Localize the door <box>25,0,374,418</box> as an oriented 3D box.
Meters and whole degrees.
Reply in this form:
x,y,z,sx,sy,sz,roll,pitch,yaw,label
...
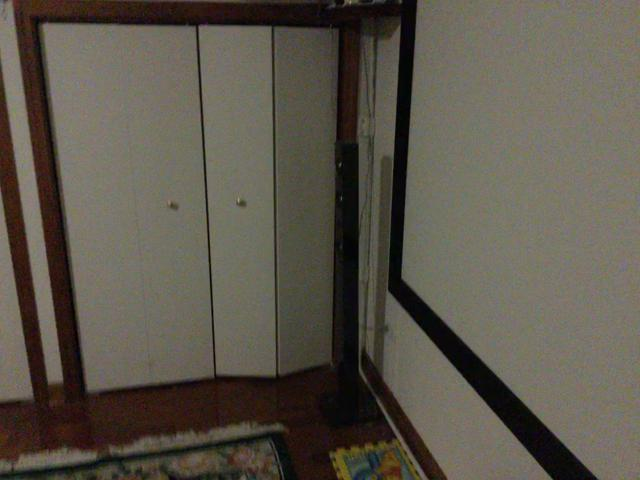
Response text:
x,y,z,sx,sy,sz,roll,pitch,yaw,label
-0.480,-0.060,2.460,1.280,1.650,0.150,0,17,-15,door

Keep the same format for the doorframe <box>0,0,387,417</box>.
x,y,z,sx,sy,sz,roll,pitch,yaw,label
-0.510,-0.110,2.460,1.420,1.690,0.230,0,17,-15,doorframe
